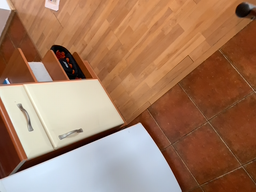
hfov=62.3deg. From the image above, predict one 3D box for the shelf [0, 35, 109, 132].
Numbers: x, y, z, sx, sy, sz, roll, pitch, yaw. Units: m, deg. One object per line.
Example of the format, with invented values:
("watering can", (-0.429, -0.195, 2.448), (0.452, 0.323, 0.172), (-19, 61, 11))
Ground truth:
("shelf", (-0.660, -0.070, 1.490), (0.590, 0.870, 0.310), (-42, 73, 31))
